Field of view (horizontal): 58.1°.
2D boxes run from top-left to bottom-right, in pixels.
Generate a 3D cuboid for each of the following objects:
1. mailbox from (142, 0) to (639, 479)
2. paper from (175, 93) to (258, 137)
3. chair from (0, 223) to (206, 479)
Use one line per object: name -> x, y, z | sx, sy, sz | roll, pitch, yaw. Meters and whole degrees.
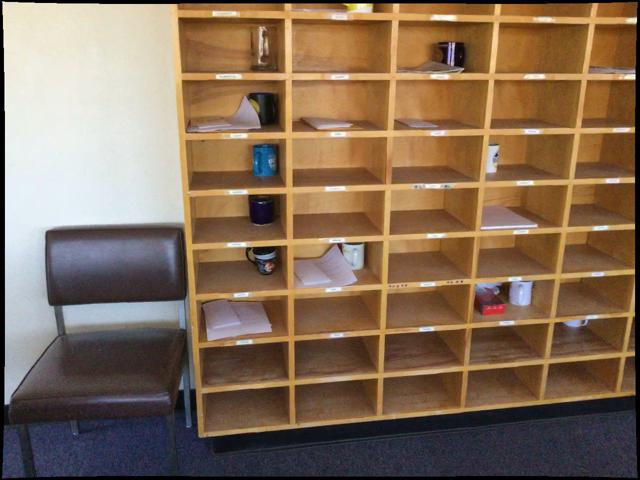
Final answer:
mailbox -> 1.895, -0.321, 2.230 | 4.818, 1.945, 0.480 | -4, 18, -7
paper -> -0.339, -0.421, 1.920 | 0.249, 0.110, 0.250 | -4, 18, -7
chair -> -0.718, 0.411, 1.960 | 0.559, 0.772, 0.570 | -4, 18, -7
